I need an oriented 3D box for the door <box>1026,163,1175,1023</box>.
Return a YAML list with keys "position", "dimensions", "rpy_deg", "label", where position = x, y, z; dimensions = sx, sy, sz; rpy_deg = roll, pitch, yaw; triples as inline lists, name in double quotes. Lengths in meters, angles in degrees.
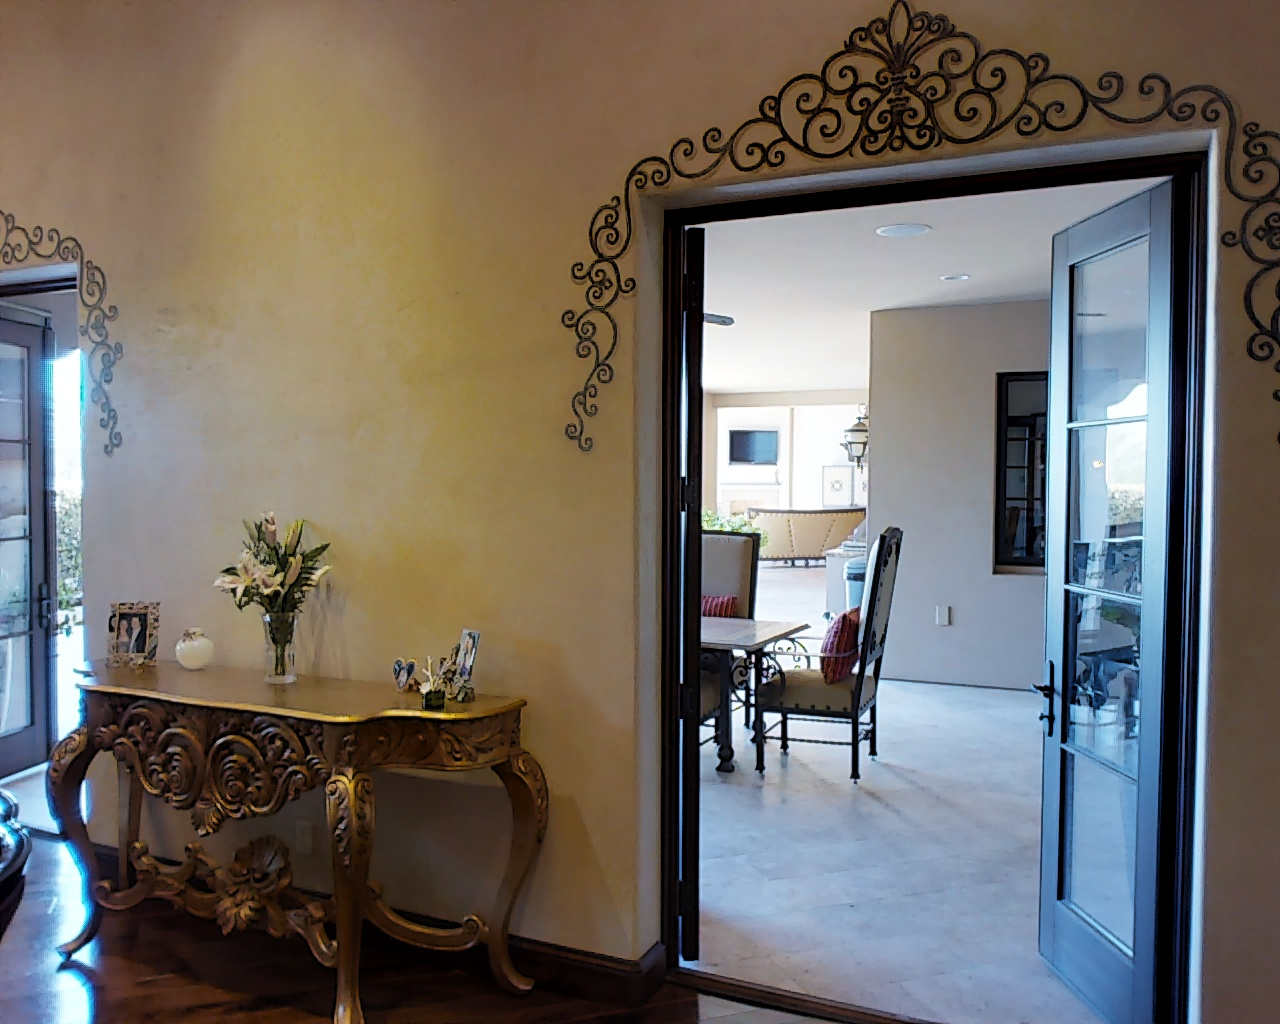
- position: [1.380, 0.260, 3.270]
  dimensions: [0.110, 2.440, 0.630]
  rpy_deg: [0, 2, -2]
  label: "door"
